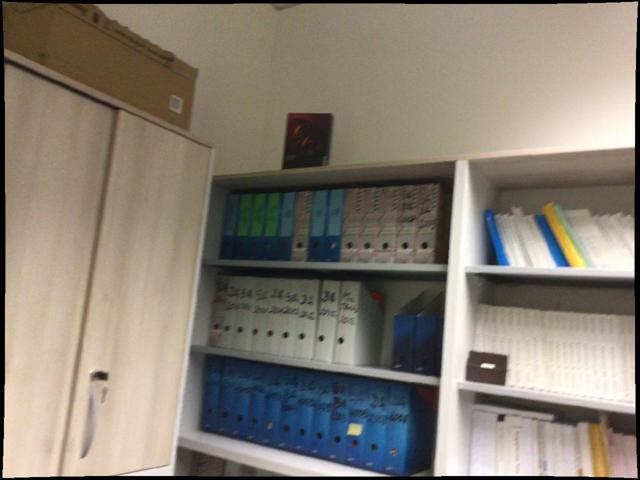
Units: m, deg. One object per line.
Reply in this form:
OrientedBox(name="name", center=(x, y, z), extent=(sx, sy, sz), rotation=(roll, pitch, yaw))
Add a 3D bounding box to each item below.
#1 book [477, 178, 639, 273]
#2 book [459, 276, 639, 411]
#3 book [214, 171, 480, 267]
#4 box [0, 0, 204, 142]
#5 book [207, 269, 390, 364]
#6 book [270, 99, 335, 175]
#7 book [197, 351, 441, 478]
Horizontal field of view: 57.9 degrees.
OrientedBox(name="book", center=(0.999, -0.040, 1.880), extent=(0.899, 0.270, 0.240), rotation=(0, -7, 31))
OrientedBox(name="book", center=(1.049, 0.310, 1.680), extent=(1.169, 0.340, 0.430), rotation=(0, -7, 31))
OrientedBox(name="book", center=(0.080, -0.070, 2.420), extent=(1.089, 0.310, 0.290), rotation=(0, -7, 31))
OrientedBox(name="box", center=(-0.689, -0.541, 1.810), extent=(0.230, 0.270, 0.660), rotation=(0, -7, 31))
OrientedBox(name="book", center=(-0.100, 0.310, 2.450), extent=(0.729, 0.330, 0.260), rotation=(0, -7, 31))
OrientedBox(name="book", center=(-0.070, -0.410, 2.330), extent=(0.210, 0.260, 0.120), rotation=(0, -7, 31))
OrientedBox(name="book", center=(-0.030, 0.661, 2.330), extent=(0.969, 0.320, 0.260), rotation=(0, -7, 31))
